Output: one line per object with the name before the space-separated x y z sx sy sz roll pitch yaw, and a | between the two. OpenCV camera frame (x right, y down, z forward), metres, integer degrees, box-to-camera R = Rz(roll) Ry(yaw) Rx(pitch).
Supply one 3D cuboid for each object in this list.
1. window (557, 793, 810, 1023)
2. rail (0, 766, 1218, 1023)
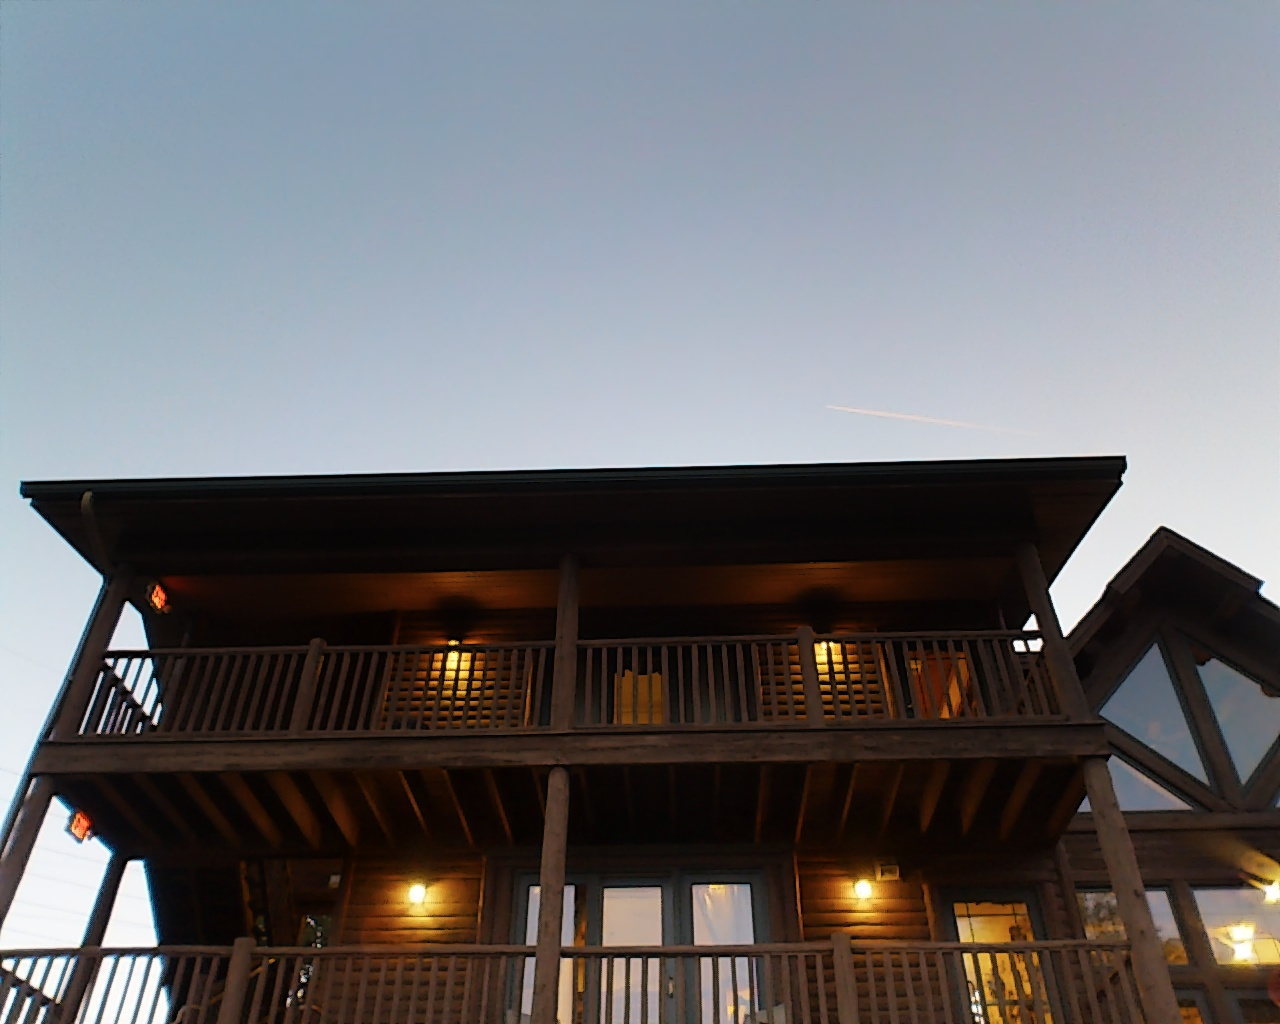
window | 0.370 3.882 9.240 1.979 2.541 1.150 -2 -41 3
rail | -0.670 3.432 8.690 9.785 2.571 0.590 -1 -41 2
